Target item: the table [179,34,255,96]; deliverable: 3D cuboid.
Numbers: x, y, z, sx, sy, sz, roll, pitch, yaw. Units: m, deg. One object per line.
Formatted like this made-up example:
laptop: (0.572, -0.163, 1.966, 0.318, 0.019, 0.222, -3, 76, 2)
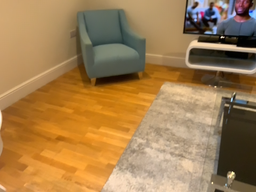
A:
table: (1.170, -0.430, 2.740, 0.860, 0.540, 0.520, 11, 31, 20)
